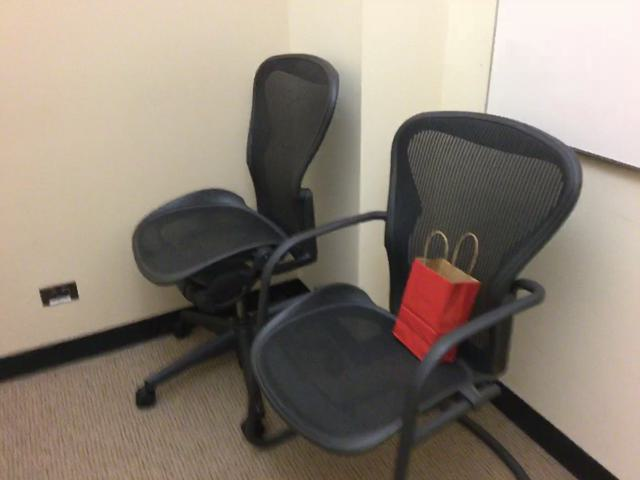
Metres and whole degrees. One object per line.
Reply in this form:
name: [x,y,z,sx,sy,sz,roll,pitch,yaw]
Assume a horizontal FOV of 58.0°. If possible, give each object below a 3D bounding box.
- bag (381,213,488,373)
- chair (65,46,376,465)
bag: [0.260,0.120,1.370,0.130,0.300,0.200,-13,28,-25]
chair: [-0.300,-0.010,1.810,0.690,1.040,0.600,-13,28,-25]
